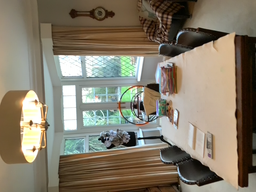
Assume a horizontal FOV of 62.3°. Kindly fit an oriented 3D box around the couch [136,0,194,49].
[{"bbox_3d":[0.600,-1.450,3.820,0.780,0.690,0.870,99,165,-52],"label":"couch"}]
